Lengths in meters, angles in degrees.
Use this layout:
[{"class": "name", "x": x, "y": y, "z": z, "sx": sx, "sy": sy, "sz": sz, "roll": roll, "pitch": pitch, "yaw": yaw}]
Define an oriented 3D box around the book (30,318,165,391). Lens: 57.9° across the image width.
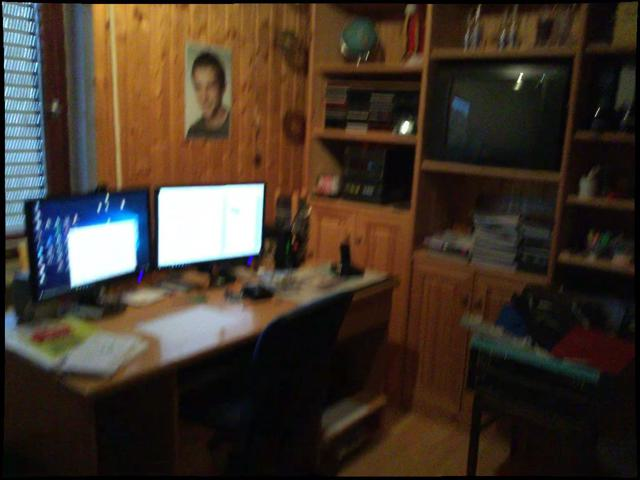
[{"class": "book", "x": -0.609, "y": 0.310, "z": 1.610, "sx": 0.250, "sy": 0.060, "sz": 0.250, "roll": 1, "pitch": 22, "yaw": 14}]
